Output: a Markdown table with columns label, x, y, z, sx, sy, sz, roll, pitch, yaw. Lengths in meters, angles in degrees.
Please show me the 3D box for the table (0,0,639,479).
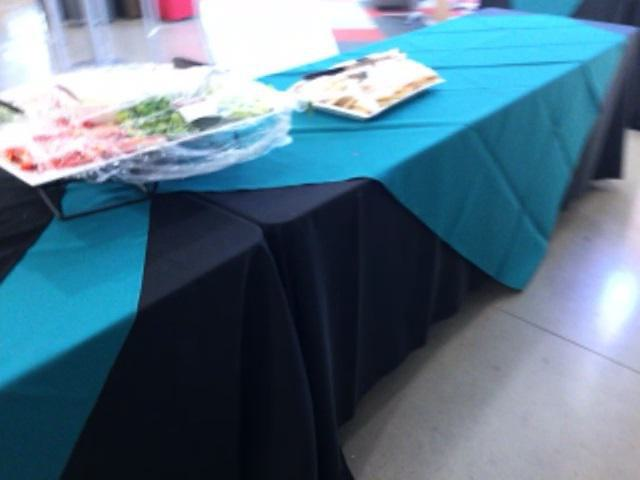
| label | x | y | z | sx | sy | sz | roll | pitch | yaw |
| --- | --- | --- | --- | --- | --- | --- | --- | --- | --- |
| table | -0.370 | 0.190 | 1.330 | 0.890 | 0.910 | 4.630 | 20 | 37 | 37 |
